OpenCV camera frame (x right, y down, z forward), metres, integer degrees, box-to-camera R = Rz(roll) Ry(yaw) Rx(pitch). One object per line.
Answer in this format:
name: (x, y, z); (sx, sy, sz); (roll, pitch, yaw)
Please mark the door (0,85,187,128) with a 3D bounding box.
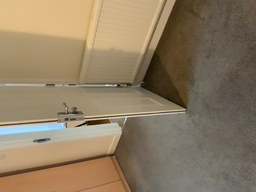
door: (-0.540, 0.030, 1.630); (0.790, 1.970, 0.030); (31, 117, 55)
